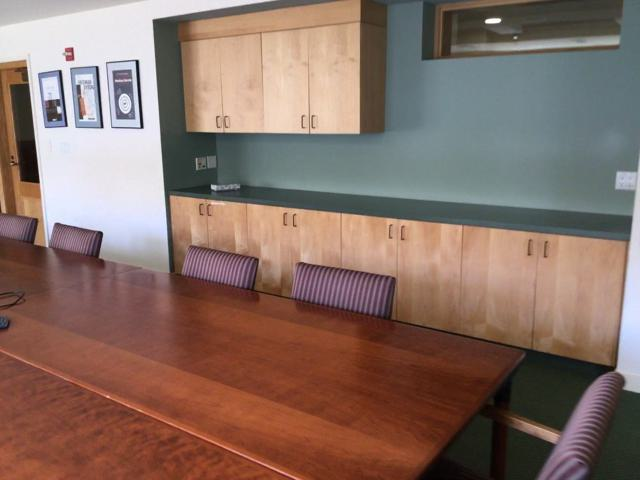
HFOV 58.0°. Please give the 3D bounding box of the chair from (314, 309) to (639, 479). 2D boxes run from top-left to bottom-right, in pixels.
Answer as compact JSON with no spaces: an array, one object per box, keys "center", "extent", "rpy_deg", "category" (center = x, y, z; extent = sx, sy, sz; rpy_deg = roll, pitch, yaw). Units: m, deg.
[{"center":[0.470,0.720,1.480],"extent":[0.700,0.830,0.650],"rpy_deg":[6,14,33],"category":"chair"}]
